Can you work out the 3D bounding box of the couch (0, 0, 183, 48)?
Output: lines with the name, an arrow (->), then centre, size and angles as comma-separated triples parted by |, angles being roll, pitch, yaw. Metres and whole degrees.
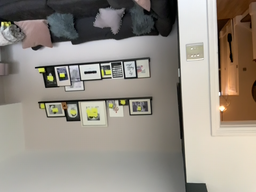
couch -> -0.660, -1.400, 3.480 | 2.960, 0.800, 1.050 | -3, -175, 12
